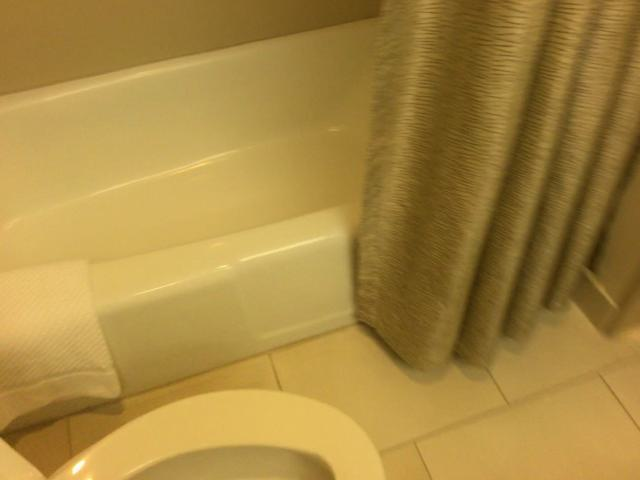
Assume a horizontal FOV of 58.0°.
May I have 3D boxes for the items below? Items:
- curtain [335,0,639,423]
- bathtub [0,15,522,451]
[{"bbox_3d":[0.330,-0.450,0.600,0.580,2.030,0.250,-17,50,-12],"label":"curtain"},{"bbox_3d":[-0.310,-0.080,1.400,1.280,0.370,0.720,-17,50,-12],"label":"bathtub"}]
